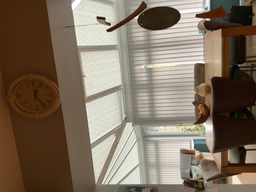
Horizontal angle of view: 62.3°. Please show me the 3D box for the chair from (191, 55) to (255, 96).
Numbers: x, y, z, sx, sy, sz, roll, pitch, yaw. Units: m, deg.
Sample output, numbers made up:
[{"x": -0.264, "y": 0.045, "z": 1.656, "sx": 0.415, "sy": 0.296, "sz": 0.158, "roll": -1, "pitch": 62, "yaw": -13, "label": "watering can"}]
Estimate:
[{"x": 1.440, "y": -0.320, "z": 3.140, "sx": 0.560, "sy": 0.870, "sz": 0.480, "roll": -63, "pitch": -30, "yaw": -75, "label": "chair"}]

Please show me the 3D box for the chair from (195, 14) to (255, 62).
[{"x": 1.370, "y": -0.750, "z": 2.780, "sx": 0.470, "sy": 0.870, "sz": 0.520, "roll": -62, "pitch": -32, "yaw": -76, "label": "chair"}]

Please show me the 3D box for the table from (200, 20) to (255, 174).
[{"x": 1.480, "y": -0.020, "z": 2.900, "sx": 0.930, "sy": 0.750, "sz": 1.840, "roll": -63, "pitch": -30, "yaw": -75, "label": "table"}]

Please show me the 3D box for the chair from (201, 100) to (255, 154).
[{"x": 1.400, "y": 0.350, "z": 2.570, "sx": 0.540, "sy": 0.870, "sz": 0.480, "roll": -58, "pitch": -36, "yaw": -77, "label": "chair"}]

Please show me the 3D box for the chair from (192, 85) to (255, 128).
[{"x": 1.480, "y": 0.150, "z": 3.240, "sx": 0.560, "sy": 0.870, "sz": 0.480, "roll": -63, "pitch": -30, "yaw": -75, "label": "chair"}]
